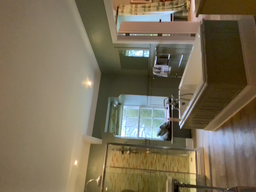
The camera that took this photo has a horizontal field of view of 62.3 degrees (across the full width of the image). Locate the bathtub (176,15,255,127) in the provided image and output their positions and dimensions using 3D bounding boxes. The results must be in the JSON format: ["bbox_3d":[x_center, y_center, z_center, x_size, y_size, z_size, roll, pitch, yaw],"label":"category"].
[{"bbox_3d":[1.190,-0.210,3.290,1.890,0.610,0.900,80,-166,-67],"label":"bathtub"}]
